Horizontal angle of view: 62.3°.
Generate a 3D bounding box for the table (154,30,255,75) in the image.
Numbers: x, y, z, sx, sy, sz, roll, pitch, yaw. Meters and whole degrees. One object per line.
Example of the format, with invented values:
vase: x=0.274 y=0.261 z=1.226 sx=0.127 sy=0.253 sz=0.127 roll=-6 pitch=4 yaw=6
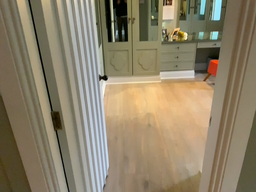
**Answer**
table: x=1.590 y=-0.890 z=4.290 sx=2.040 sy=0.730 sz=0.490 roll=-2 pitch=25 yaw=-2
